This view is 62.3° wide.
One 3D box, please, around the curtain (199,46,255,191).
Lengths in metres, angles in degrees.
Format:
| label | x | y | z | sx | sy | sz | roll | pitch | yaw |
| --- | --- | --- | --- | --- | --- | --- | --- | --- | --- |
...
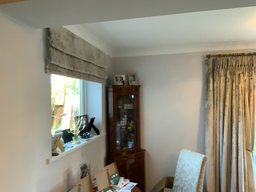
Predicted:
| label | x | y | z | sx | sy | sz | roll | pitch | yaw |
| --- | --- | --- | --- | --- | --- | --- | --- | --- | --- |
| curtain | 1.390 | 0.500 | 2.880 | 0.740 | 2.250 | 0.340 | -1 | 0 | 14 |
